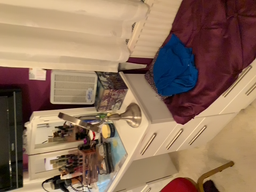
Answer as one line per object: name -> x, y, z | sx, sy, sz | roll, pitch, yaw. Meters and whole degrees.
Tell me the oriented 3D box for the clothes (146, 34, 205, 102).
clothes -> 0.240, -0.150, 1.150 | 0.250, 0.090, 0.260 | 63, 142, 36
